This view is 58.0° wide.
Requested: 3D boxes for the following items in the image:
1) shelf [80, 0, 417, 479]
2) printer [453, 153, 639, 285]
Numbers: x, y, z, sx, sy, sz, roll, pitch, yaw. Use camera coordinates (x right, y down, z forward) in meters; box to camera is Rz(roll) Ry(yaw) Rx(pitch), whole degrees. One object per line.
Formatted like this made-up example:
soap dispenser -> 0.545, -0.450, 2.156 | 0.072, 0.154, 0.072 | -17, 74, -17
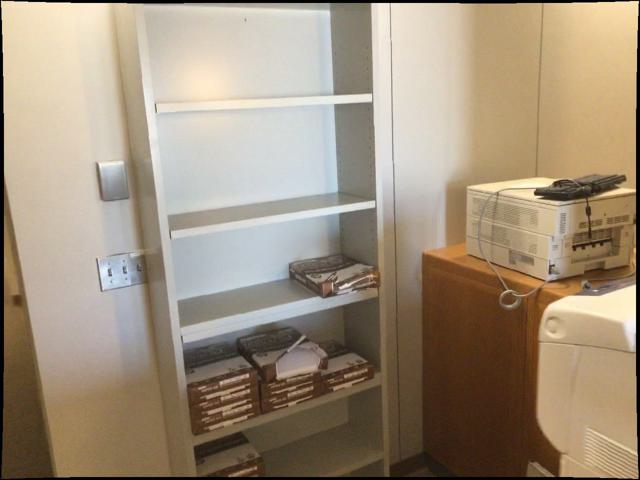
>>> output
shelf -> -0.150, 0.221, 1.940 | 0.839, 1.934, 0.410 | -13, 19, -28
printer -> 0.848, -0.110, 2.120 | 0.449, 0.311, 0.540 | -13, 19, -28
